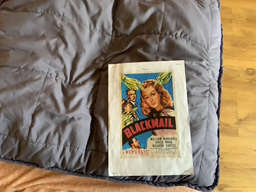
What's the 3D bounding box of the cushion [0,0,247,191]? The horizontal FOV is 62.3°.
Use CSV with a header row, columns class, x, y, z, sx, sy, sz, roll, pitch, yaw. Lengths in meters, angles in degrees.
class,x,y,z,sx,sy,sz,roll,pitch,yaw
cushion,-0.080,-0.100,0.640,0.760,0.180,0.720,6,77,-2
